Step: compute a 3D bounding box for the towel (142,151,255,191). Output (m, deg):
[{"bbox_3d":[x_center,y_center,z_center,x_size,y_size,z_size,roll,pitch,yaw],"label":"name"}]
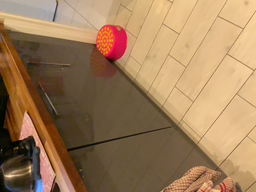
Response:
[{"bbox_3d":[0.320,0.400,0.880,0.240,0.530,0.070,48,124,34],"label":"towel"}]
